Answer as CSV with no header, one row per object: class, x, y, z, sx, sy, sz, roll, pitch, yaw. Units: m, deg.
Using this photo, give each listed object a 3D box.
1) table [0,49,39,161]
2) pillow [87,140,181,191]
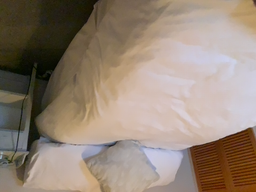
table,-0.890,0.050,1.450,0.390,0.710,0.250,15,147,-34
pillow,0.050,0.570,1.500,0.550,0.530,0.130,15,115,-35
